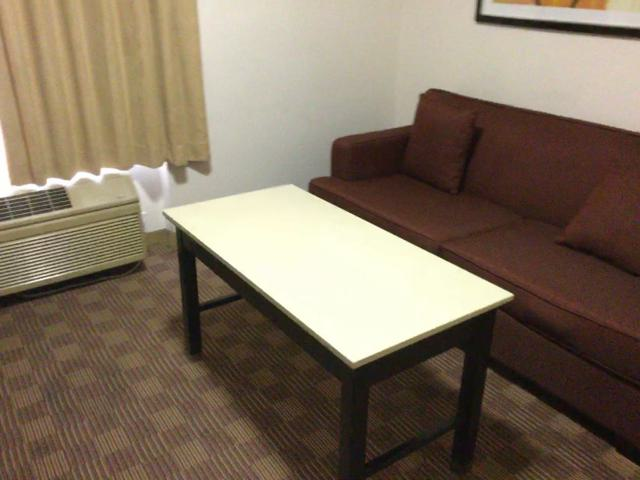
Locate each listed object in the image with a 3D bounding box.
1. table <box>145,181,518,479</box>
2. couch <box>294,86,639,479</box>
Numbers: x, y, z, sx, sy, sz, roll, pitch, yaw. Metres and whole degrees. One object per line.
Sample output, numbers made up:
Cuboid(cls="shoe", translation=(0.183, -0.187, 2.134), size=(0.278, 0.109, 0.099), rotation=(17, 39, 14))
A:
Cuboid(cls="table", translation=(-0.050, 0.290, 1.890), size=(0.590, 0.620, 1.110), rotation=(-15, 28, -33))
Cuboid(cls="couch", translation=(0.780, -0.060, 2.410), size=(0.890, 0.840, 1.860), rotation=(-15, 28, -33))
